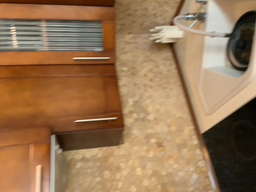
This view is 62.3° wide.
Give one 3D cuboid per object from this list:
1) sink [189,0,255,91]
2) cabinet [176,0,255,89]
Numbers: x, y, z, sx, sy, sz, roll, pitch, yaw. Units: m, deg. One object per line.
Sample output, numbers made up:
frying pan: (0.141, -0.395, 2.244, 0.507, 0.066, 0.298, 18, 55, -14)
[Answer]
sink: (0.610, -0.330, 1.150, 0.540, 0.260, 0.460, -128, 37, -68)
cabinet: (0.870, -0.370, 1.300, 0.790, 0.830, 0.430, -128, 37, -68)
